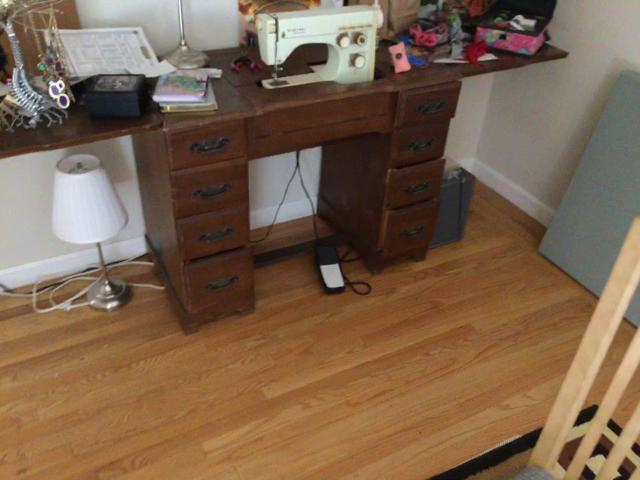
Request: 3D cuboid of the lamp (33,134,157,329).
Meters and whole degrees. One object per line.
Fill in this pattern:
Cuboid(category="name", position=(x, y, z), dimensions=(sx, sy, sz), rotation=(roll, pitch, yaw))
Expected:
Cuboid(category="lamp", position=(-0.730, -0.030, 1.900), dimensions=(0.240, 0.520, 0.300), rotation=(-16, 39, -24))

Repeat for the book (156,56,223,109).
Cuboid(category="book", position=(-0.360, -0.450, 1.630), dimensions=(0.170, 0.050, 0.280), rotation=(-3, 35, -8))

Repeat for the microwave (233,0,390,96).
Cuboid(category="microwave", position=(-0.030, -0.610, 1.770), dimensions=(0.400, 0.210, 0.240), rotation=(-16, 39, -24))
